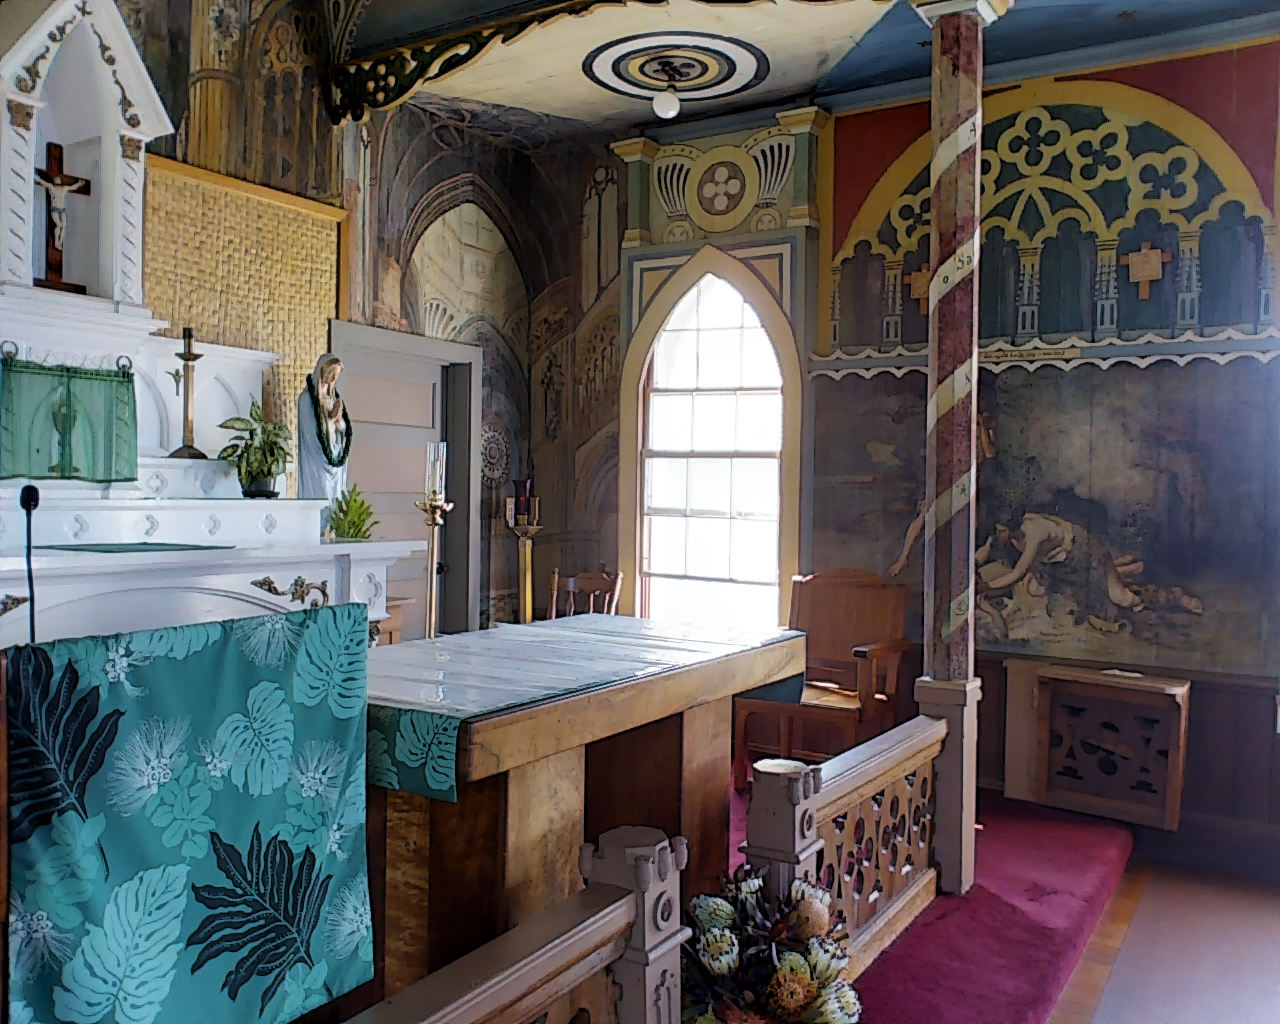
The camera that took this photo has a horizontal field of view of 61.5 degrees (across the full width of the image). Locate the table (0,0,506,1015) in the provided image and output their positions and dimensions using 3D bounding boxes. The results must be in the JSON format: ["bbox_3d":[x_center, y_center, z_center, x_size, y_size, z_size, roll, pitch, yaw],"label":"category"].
[{"bbox_3d":[-1.750,-0.450,3.580,1.250,3.401,2.440,2,1,33],"label":"table"}]

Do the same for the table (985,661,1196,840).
[{"bbox_3d":[1.899,0.980,4.550,0.760,0.580,0.350,2,1,32],"label":"table"}]
